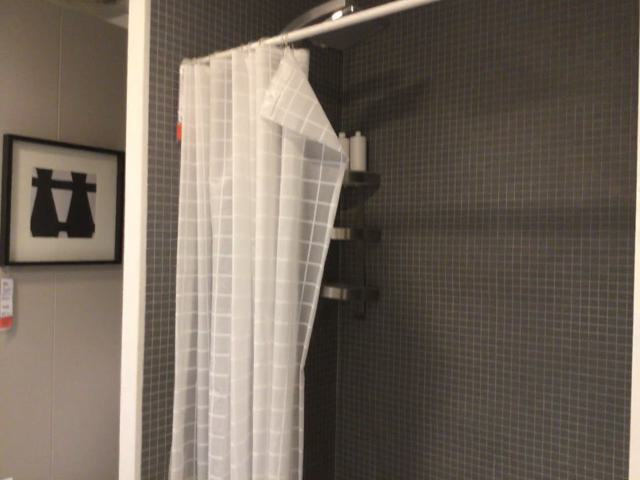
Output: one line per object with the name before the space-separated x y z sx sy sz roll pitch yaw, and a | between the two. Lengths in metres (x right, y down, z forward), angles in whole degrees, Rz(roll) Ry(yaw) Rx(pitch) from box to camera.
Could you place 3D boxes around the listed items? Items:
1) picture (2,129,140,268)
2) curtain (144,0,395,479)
picture | -1.050 -0.150 2.500 0.080 0.540 0.570 -2 -4 37
curtain | -0.150 0.410 1.510 0.640 1.930 0.250 -2 -4 37
